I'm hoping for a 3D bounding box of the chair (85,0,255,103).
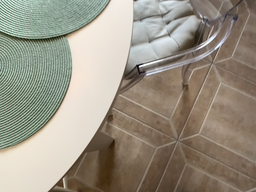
[{"bbox_3d":[0.090,-0.310,0.880,0.460,0.800,0.420,-16,78,-5],"label":"chair"}]
